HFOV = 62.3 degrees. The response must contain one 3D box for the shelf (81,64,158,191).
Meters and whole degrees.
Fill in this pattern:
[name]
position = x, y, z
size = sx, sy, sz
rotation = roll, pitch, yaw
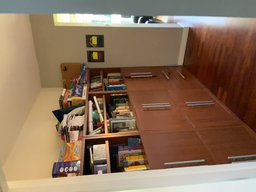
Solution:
[shelf]
position = -0.230, 0.340, 2.710
size = 3.000, 0.590, 0.410
rotation = -105, 16, -58
